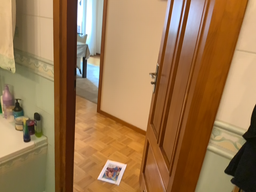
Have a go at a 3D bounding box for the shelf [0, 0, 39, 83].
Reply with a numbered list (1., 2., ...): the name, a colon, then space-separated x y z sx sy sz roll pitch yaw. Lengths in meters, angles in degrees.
1. shelf: -0.850 -0.600 1.410 0.540 0.890 0.220 22 26 35

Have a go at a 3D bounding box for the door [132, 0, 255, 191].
1. door: 0.260 0.030 1.290 0.170 2.040 0.890 5 21 -5
